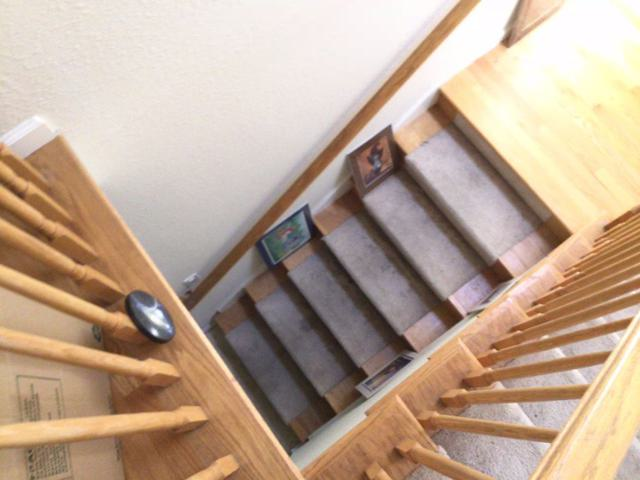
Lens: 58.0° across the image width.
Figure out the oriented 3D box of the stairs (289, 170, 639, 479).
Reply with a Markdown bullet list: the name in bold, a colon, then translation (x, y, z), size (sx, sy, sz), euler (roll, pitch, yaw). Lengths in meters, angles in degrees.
- **stairs**: translation (0.890, 0.570, 1.770), size (1.640, 1.010, 1.070), euler (-36, 77, -13)
